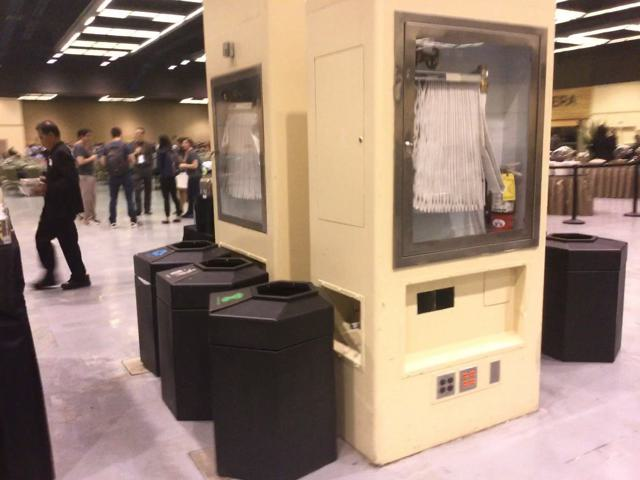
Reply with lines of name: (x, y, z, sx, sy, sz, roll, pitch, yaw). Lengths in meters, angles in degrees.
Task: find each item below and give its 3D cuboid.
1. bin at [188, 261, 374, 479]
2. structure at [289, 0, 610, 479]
bin: (-0.190, 0.600, 2.600, 0.610, 0.810, 0.650, -7, 15, -24)
structure: (0.550, -0.150, 2.720, 1.150, 2.080, 0.730, -7, 15, -24)
